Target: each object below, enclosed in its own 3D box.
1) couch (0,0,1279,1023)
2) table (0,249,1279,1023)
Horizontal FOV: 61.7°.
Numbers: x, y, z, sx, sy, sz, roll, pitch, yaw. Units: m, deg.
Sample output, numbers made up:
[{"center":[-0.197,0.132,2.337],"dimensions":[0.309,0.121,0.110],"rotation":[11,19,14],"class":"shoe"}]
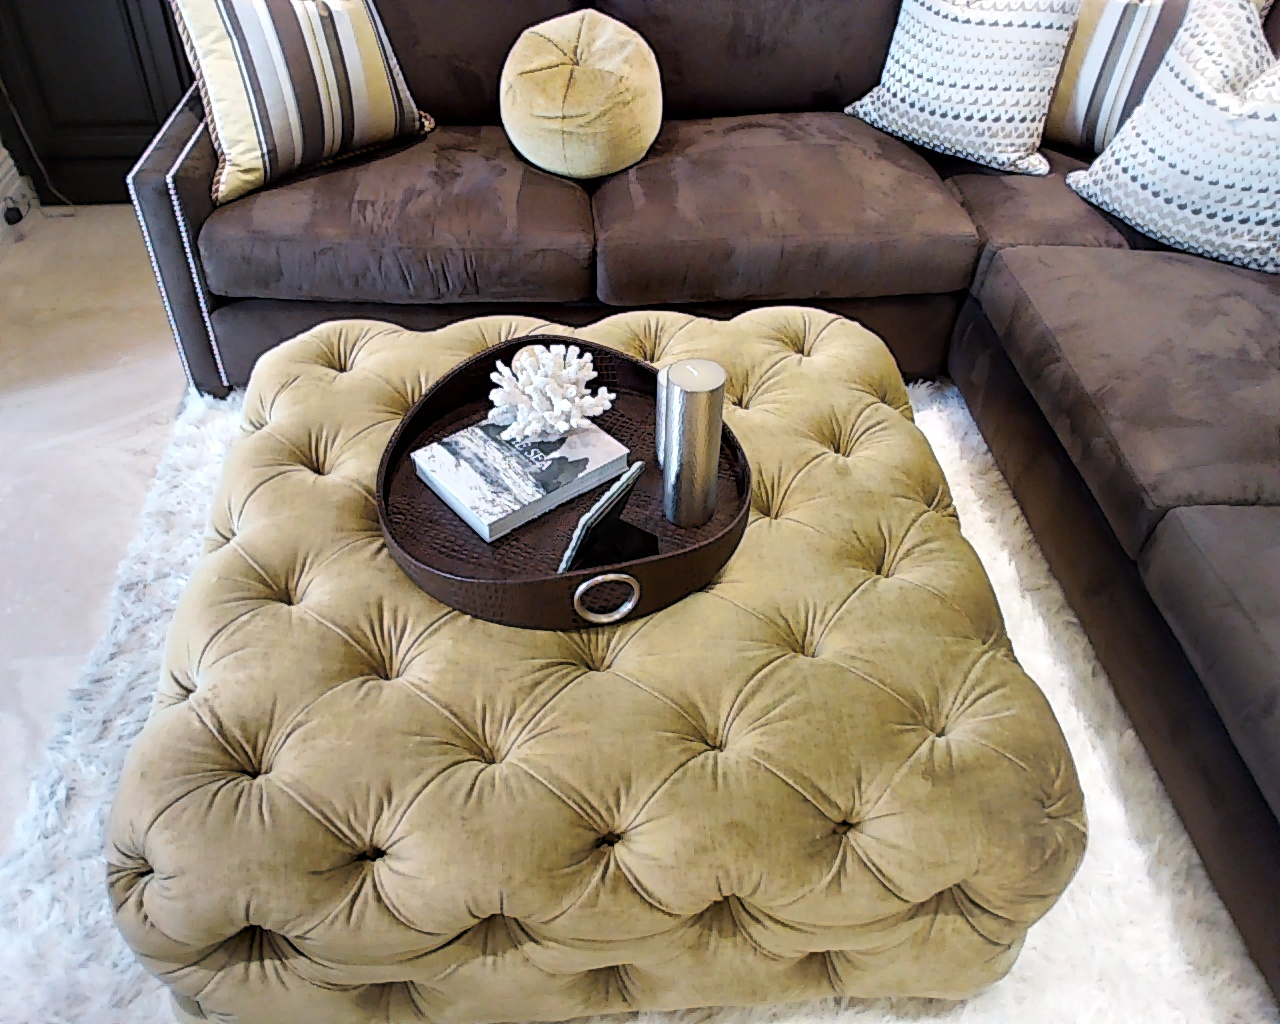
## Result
[{"center":[0.390,-0.390,2.000],"dimensions":[2.900,0.980,2.910],"rotation":[-3,42,-4],"class":"couch"},{"center":[-0.030,0.150,1.700],"dimensions":[1.270,0.530,1.280],"rotation":[-2,42,-3],"class":"table"}]
